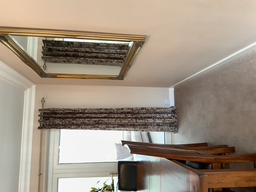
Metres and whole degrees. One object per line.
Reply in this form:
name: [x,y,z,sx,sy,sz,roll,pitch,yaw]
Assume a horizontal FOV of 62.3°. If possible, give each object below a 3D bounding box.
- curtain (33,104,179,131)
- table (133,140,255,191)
curtain: [-0.290,0.350,3.390,0.180,2.250,0.400,139,132,-78]
table: [0.600,0.940,1.960,1.810,0.790,0.910,139,131,-78]
